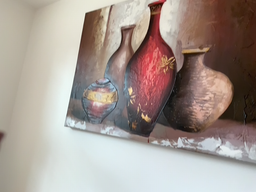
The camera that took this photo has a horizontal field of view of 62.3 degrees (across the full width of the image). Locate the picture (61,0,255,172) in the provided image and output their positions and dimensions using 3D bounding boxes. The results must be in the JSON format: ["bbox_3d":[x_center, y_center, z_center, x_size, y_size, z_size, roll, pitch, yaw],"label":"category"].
[{"bbox_3d":[0.090,-0.160,0.970,1.020,0.760,0.020,3,-9,36],"label":"picture"}]
